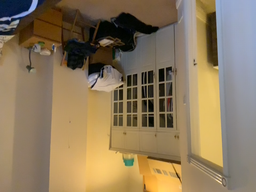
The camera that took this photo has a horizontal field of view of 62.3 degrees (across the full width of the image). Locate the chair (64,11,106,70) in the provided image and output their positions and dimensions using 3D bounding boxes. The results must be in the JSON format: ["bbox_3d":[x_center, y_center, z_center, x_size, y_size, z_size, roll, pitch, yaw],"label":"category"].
[{"bbox_3d":[-0.680,-0.840,3.370,0.510,0.720,0.420,-5,172,43],"label":"chair"}]
